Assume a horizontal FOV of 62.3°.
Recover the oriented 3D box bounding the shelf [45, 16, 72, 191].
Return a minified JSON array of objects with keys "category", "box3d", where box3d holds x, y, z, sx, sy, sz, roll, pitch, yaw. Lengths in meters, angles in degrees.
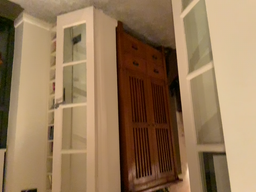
[{"category":"shelf","box3d":[-0.740,0.130,2.290,0.200,2.050,0.170,-13,164,41]}]
